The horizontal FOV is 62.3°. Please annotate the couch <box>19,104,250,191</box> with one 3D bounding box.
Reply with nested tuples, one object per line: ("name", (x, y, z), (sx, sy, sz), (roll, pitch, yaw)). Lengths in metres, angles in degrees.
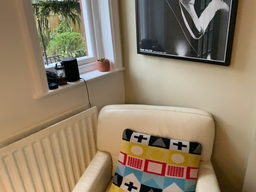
("couch", (0.080, 0.590, 1.140), (0.800, 0.790, 0.810), (2, 24, 11))
